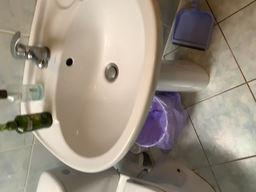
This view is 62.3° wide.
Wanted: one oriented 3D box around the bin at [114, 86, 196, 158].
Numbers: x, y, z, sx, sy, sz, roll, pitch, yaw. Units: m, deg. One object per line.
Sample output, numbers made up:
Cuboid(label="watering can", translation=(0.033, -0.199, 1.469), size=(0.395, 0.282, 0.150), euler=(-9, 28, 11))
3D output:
Cuboid(label="bin", translation=(0.150, 0.120, 1.190), size=(0.310, 0.260, 0.260), euler=(26, 108, 33))

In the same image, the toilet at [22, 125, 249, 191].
Cuboid(label="toilet", translation=(0.050, 0.520, 0.980), size=(0.710, 0.740, 0.380), euler=(26, 108, 33))
